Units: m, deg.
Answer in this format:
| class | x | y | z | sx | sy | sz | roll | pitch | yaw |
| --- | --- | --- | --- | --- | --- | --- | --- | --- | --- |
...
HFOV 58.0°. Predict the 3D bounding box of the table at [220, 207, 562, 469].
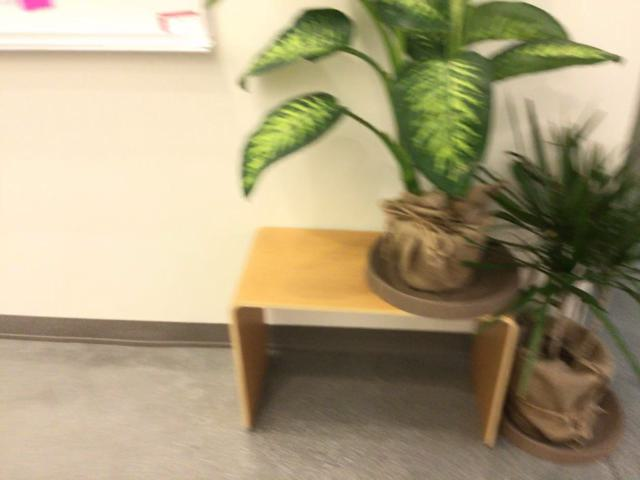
| class | x | y | z | sx | sy | sz | roll | pitch | yaw |
| --- | --- | --- | --- | --- | --- | --- | --- | --- | --- |
| table | 0.150 | 0.250 | 1.550 | 0.730 | 0.510 | 0.430 | 2 | 31 | 1 |
